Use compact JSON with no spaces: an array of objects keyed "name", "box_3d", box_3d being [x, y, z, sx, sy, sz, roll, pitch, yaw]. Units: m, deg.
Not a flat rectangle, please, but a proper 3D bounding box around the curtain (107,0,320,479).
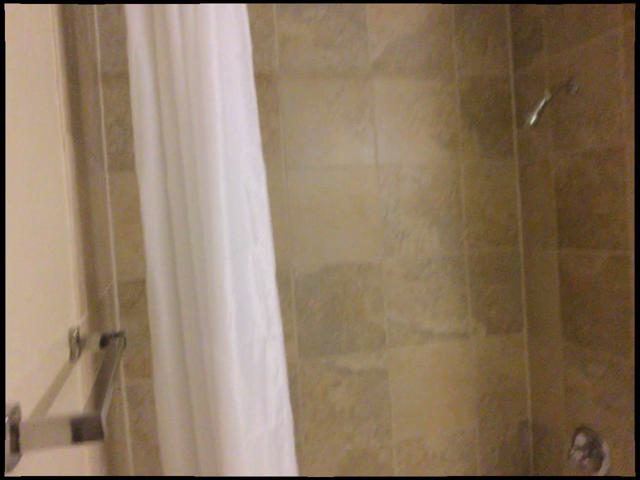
[{"name":"curtain","box_3d":[-0.200,0.261,1.180,0.309,1.743,0.280,-5,5,-16]}]
